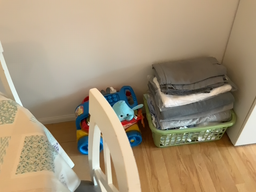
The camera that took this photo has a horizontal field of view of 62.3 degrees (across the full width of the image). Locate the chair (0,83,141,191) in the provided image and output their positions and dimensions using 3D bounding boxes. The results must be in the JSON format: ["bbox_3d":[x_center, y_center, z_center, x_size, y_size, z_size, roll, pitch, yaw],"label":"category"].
[{"bbox_3d":[-0.230,0.470,0.760,0.510,0.890,0.400,-13,45,-9],"label":"chair"}]
